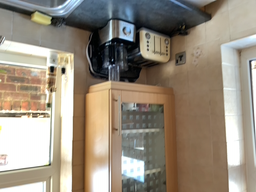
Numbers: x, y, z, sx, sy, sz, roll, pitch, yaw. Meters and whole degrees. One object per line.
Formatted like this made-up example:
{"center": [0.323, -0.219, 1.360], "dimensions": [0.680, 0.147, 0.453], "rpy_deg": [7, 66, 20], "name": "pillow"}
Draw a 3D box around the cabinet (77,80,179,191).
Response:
{"center": [0.010, 0.380, 1.400], "dimensions": [0.590, 0.880, 0.320], "rpy_deg": [3, 173, -38], "name": "cabinet"}
